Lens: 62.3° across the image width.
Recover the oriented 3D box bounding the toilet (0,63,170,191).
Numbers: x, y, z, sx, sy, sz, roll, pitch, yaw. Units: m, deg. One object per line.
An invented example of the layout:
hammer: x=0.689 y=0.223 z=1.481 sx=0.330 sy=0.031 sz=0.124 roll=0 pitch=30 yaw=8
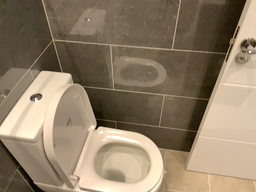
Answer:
toilet: x=-0.150 y=0.320 z=1.120 sx=0.600 sy=0.850 sz=0.380 roll=8 pitch=45 yaw=7
